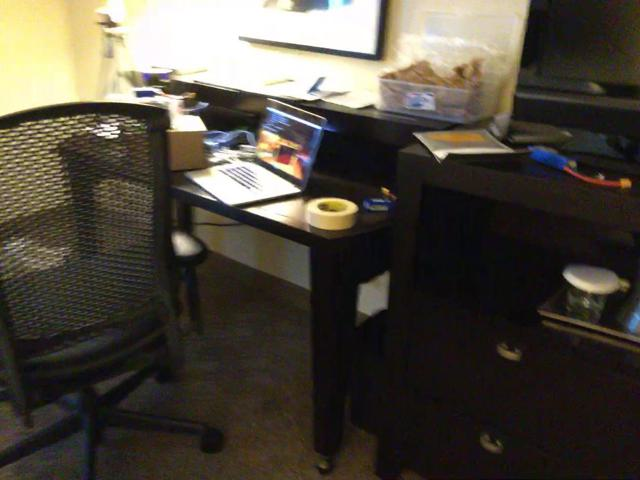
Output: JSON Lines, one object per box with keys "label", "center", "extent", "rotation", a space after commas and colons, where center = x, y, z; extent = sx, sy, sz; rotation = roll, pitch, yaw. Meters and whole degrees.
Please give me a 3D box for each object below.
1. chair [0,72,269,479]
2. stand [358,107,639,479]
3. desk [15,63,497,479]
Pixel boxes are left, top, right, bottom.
{"label": "chair", "center": [-0.660, 0.150, 1.530], "extent": [0.670, 1.070, 0.760], "rotation": [-20, 28, -41]}
{"label": "stand", "center": [0.740, 0.270, 1.290], "extent": [1.200, 1.040, 0.520], "rotation": [12, 23, 38]}
{"label": "desk", "center": [-0.290, -0.030, 2.030], "extent": [1.510, 1.050, 0.670], "rotation": [16, 26, 37]}
